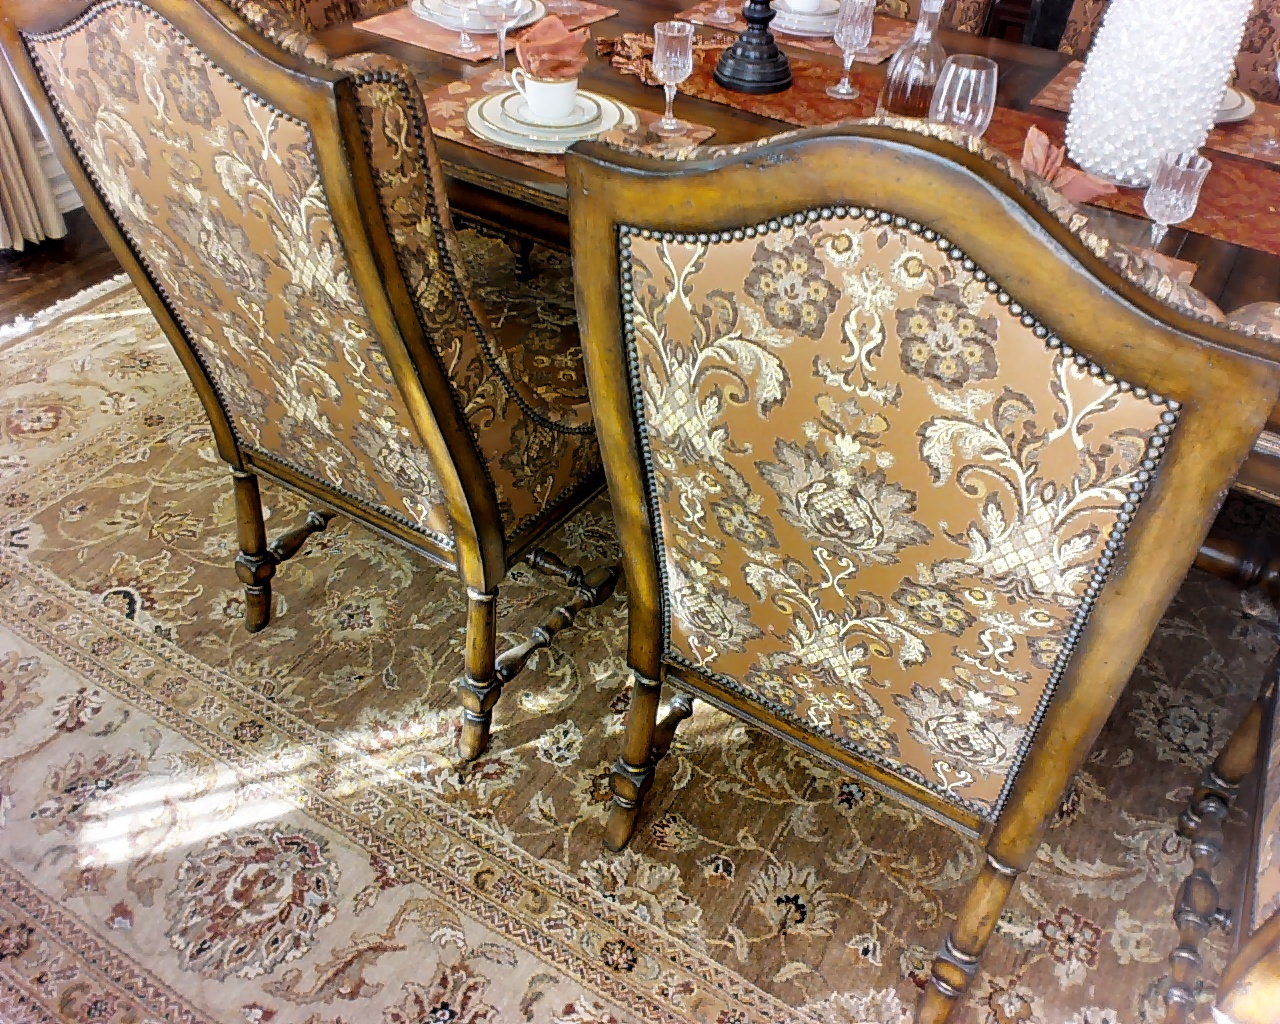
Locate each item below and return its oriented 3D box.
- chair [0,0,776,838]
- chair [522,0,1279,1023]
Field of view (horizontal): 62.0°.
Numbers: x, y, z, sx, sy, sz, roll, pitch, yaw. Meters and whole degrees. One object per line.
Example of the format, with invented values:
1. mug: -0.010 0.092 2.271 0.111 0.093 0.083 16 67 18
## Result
1. chair: -0.330 -0.300 1.620 0.680 1.190 0.800 23 44 22
2. chair: 0.340 0.000 1.320 0.630 1.160 0.740 23 44 22
